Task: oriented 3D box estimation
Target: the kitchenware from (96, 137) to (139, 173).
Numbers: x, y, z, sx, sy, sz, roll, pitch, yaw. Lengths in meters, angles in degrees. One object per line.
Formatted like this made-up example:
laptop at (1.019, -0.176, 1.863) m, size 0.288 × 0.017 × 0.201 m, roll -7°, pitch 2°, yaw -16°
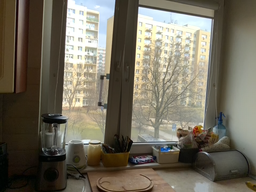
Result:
kitchenware at (-0.080, 0.420, 1.550) m, size 0.280 × 0.210 × 0.150 m, roll 3°, pitch 3°, yaw -16°
